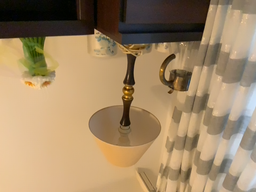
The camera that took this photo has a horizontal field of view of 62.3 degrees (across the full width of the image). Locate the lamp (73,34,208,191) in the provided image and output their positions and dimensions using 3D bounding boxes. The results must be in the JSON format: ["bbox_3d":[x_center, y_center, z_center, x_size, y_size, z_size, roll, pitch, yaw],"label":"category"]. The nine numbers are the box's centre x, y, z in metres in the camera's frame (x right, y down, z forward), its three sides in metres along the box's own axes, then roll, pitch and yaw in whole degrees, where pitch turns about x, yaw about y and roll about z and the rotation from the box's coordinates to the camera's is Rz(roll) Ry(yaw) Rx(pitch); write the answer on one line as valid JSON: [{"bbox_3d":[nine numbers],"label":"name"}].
[{"bbox_3d":[0.000,0.050,0.890,0.360,0.520,0.380,-8,-149,-22],"label":"lamp"}]
